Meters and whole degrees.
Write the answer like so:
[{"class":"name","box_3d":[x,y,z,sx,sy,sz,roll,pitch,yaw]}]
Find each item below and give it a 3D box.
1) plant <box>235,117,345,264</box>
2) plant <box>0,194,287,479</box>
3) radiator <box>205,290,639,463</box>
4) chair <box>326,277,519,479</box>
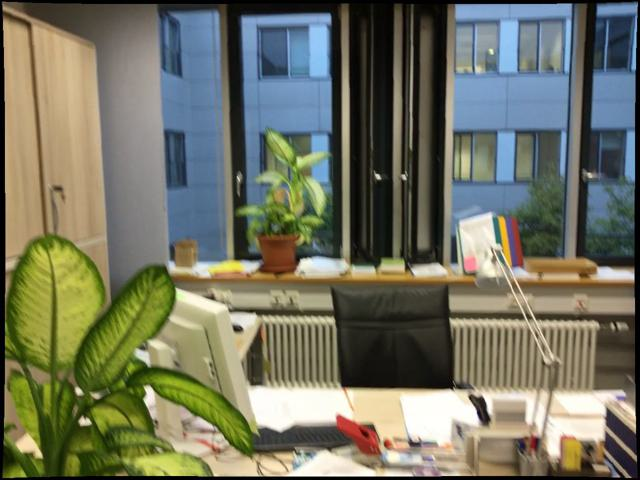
[{"class":"plant","box_3d":[-0.180,-0.330,3.730,0.629,0.851,0.480,3,9,3]},{"class":"plant","box_3d":[-0.599,0.661,1.470,0.869,1.431,0.990,3,9,3]},{"class":"radiator","box_3d":[0.659,0.741,3.300,2.498,0.621,0.620,3,9,3]},{"class":"chair","box_3d":[0.380,0.721,2.470,0.669,0.981,0.560,3,9,3]}]
